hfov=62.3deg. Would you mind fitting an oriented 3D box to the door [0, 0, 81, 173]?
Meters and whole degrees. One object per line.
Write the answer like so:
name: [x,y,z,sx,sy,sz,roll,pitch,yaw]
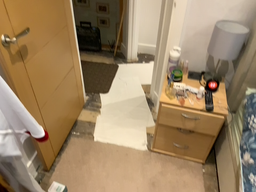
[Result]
door: [-0.510,-0.380,1.210,0.060,2.000,0.680,8,42,5]
